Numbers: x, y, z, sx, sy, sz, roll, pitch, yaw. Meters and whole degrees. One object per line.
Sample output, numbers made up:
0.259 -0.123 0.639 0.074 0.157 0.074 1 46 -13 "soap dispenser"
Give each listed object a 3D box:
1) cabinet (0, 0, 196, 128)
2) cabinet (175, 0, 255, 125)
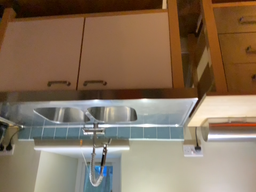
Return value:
-0.350 -0.280 1.830 1.610 0.960 0.610 -2 158 7 "cabinet"
0.940 -0.330 1.680 0.990 0.960 0.620 -2 158 7 "cabinet"
